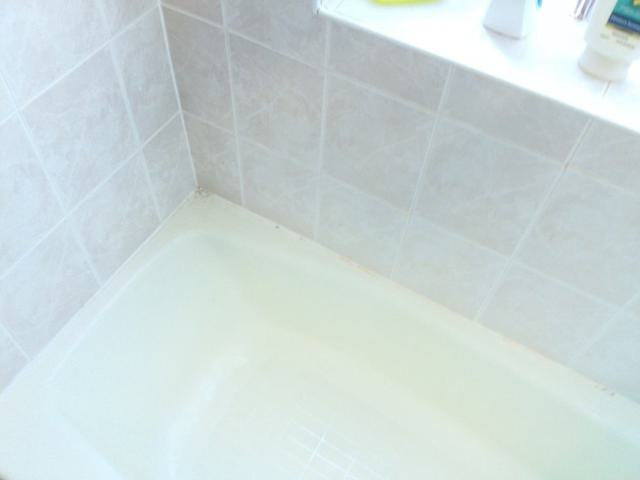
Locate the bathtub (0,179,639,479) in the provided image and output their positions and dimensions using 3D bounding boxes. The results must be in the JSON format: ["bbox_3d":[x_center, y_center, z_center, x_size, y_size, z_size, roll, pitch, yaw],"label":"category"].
[{"bbox_3d":[0.140,0.520,1.170,1.450,0.350,0.760,25,56,13],"label":"bathtub"}]
